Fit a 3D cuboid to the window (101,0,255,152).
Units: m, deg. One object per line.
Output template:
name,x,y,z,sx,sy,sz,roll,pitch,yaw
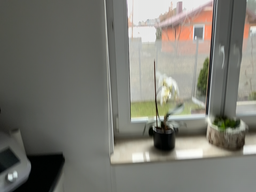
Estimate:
window,0.600,-0.420,1.320,1.500,1.480,0.200,-3,15,-4
